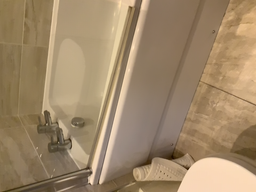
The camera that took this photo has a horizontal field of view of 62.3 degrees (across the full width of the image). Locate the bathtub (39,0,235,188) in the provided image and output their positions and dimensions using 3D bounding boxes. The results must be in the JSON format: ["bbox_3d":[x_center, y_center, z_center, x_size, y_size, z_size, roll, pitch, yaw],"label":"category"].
[{"bbox_3d":[0.020,-0.430,1.070,0.710,0.550,1.460,36,119,43],"label":"bathtub"}]
